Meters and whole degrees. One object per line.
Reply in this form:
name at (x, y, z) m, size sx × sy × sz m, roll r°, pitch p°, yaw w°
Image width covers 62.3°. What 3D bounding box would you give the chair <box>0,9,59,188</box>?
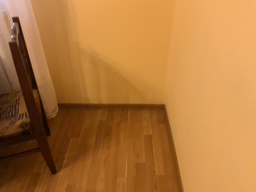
chair at (-0.800, 0.060, 1.250) m, size 0.490 × 0.930 × 0.430 m, roll -19°, pitch 41°, yaw -22°
